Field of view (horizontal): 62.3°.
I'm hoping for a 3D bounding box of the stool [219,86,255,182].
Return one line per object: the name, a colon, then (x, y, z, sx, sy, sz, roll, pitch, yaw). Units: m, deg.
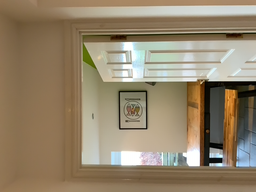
stool: (1.500, 0.470, 2.750, 0.310, 0.450, 1.180, -71, -19, -83)
